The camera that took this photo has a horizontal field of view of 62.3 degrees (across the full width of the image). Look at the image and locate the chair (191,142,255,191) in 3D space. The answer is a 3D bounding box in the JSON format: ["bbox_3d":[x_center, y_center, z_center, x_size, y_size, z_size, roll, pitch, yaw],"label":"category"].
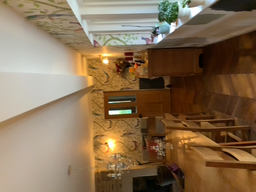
[{"bbox_3d":[1.130,0.700,1.780,0.450,1.060,0.490,-133,41,-82],"label":"chair"}]
